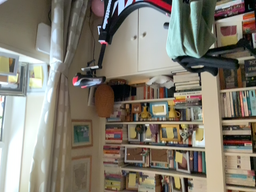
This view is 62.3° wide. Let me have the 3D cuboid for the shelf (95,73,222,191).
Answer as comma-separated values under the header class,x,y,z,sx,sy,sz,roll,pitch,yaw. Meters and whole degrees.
class,x,y,z,sx,sy,sz,roll,pitch,yaw
shelf,0.240,0.590,2.250,1.350,1.510,0.170,-5,170,31
